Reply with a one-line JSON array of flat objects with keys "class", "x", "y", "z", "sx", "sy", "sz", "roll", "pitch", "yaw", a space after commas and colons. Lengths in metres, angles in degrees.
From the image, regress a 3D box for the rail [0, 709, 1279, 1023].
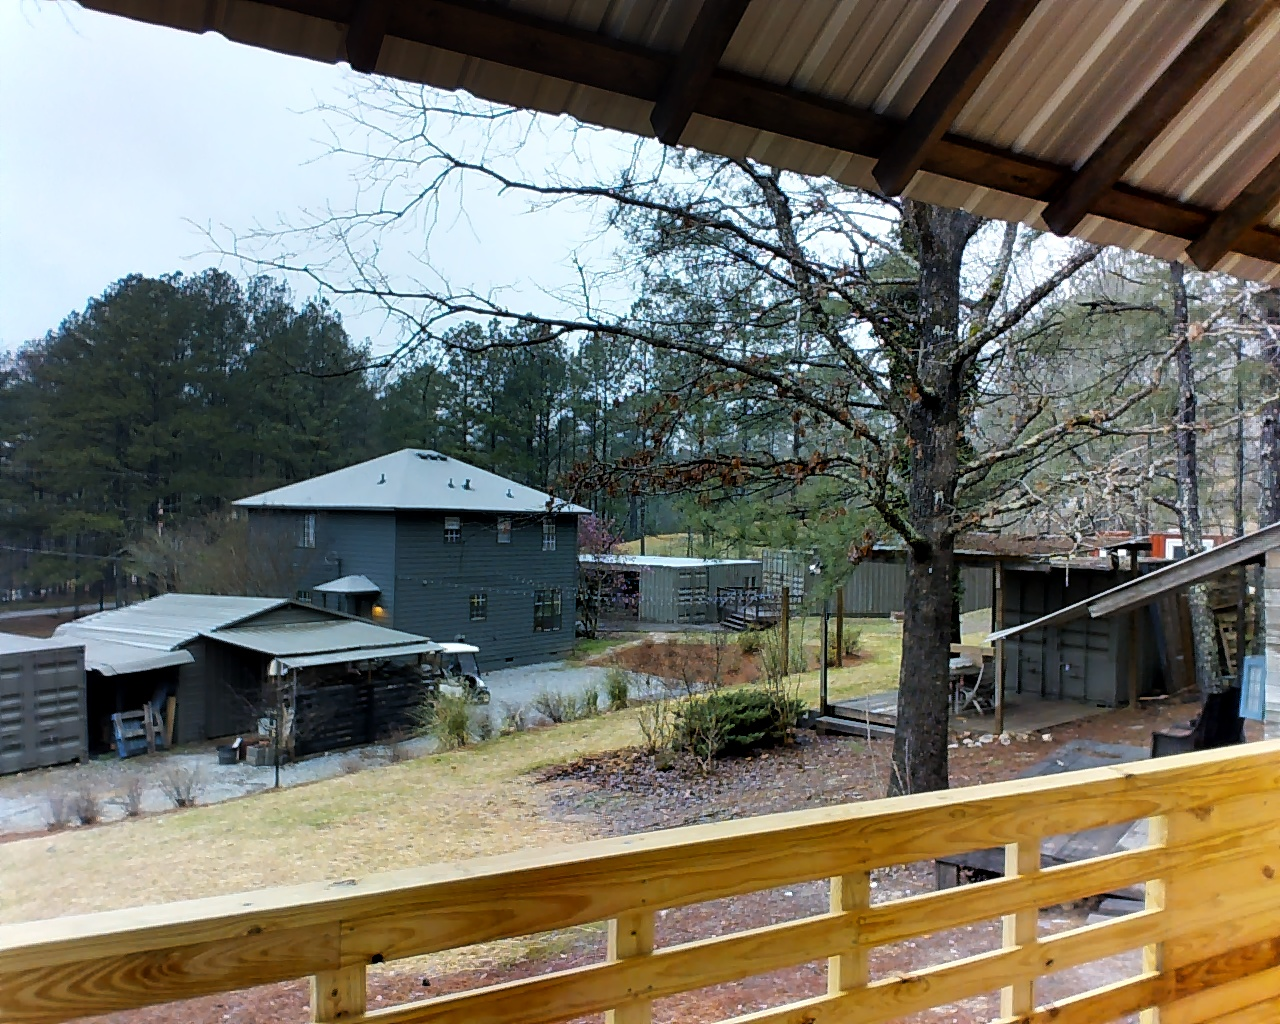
[{"class": "rail", "x": 0.800, "y": 1.090, "z": 2.610, "sx": 5.700, "sy": 0.980, "sz": 0.150, "roll": 1, "pitch": 0, "yaw": -30}]
